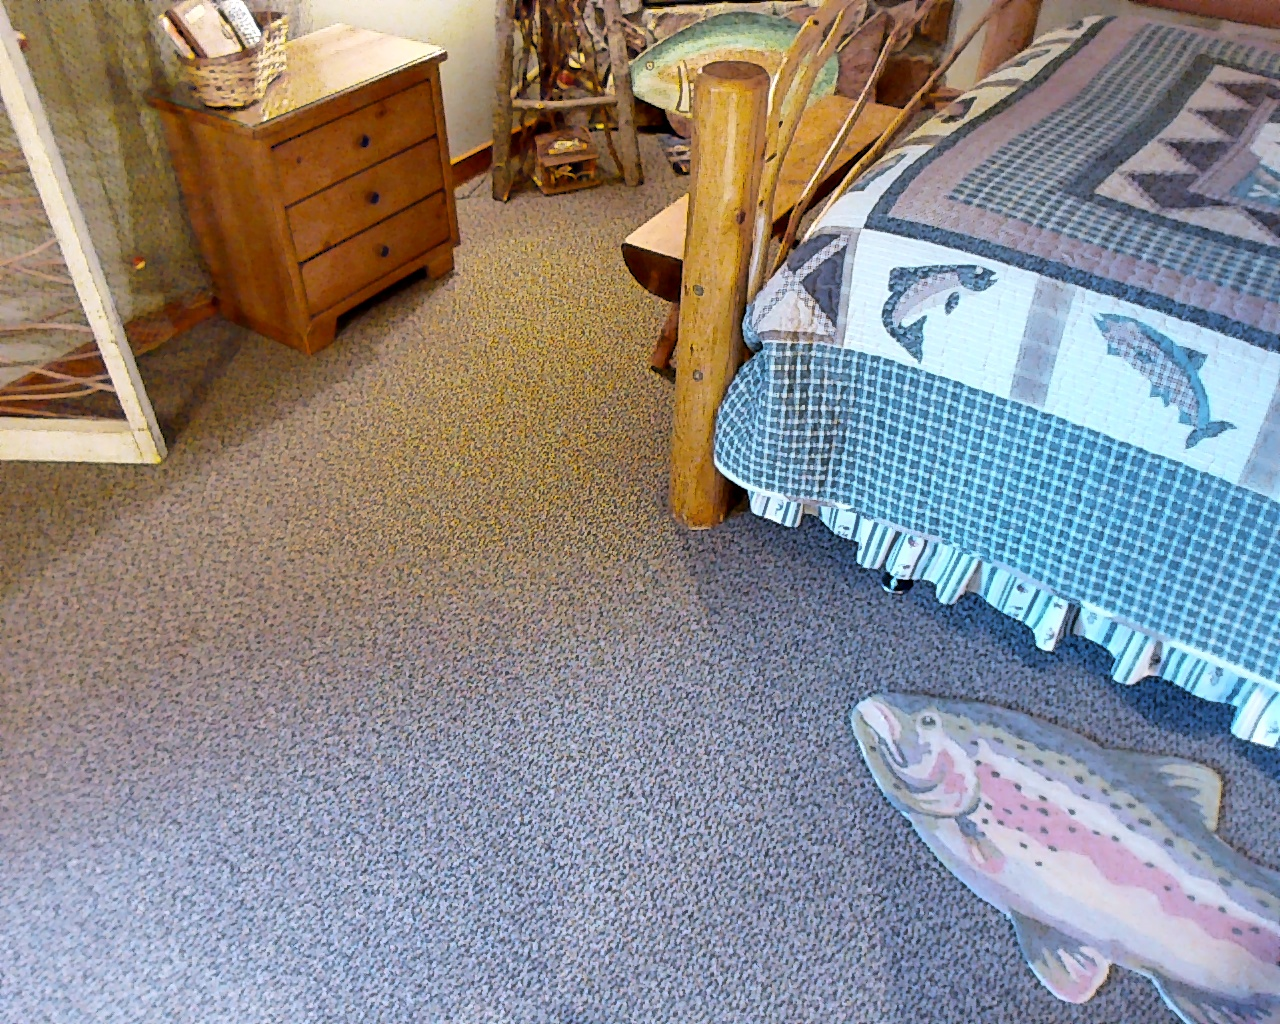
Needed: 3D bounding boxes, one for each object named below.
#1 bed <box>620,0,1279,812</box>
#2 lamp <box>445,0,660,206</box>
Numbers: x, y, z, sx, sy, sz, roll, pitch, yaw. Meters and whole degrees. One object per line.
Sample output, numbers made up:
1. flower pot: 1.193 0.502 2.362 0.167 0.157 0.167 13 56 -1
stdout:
1. bed: 1.460 -0.430 2.020 2.490 1.180 1.660 25 47 25
2. lamp: -0.280 -1.680 3.280 0.540 1.290 0.450 -18 45 -19
